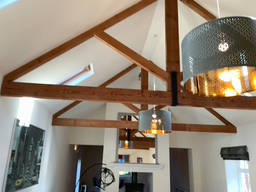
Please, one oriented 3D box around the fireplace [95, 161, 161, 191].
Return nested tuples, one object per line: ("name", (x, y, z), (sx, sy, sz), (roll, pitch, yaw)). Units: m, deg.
("fireplace", (-0.020, 2.960, 6.860), (2.000, 1.530, 0.990), (3, -16, -3))
